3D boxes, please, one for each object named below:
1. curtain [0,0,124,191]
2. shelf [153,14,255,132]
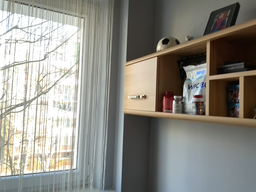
[{"bbox_3d":[-0.800,-0.160,1.130,1.620,1.870,0.140,4,-2,-29],"label":"curtain"},{"bbox_3d":[0.460,-0.070,0.900,0.270,0.390,0.800,4,-2,-29],"label":"shelf"}]
